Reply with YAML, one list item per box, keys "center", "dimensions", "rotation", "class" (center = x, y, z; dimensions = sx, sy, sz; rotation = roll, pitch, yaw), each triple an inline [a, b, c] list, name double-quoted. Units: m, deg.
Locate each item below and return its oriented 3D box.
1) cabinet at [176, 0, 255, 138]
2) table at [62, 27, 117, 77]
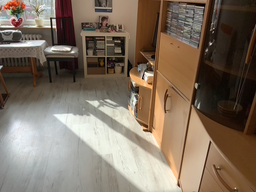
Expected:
- center: [0.550, -0.290, 1.070]
  dimensions: [0.360, 0.930, 0.340]
  rotation: [-4, 26, -14]
  class: "cabinet"
- center: [-0.690, -0.800, 3.840]
  dimensions: [0.890, 0.780, 0.440]
  rotation: [-4, 26, -15]
  class: "table"
